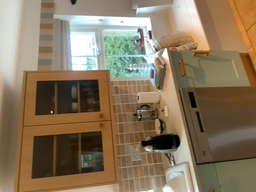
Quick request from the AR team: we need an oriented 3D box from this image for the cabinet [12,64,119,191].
[{"bbox_3d":[-0.540,0.250,1.950,0.290,0.790,1.090,114,152,-64],"label":"cabinet"}]
